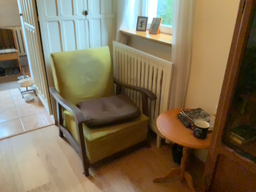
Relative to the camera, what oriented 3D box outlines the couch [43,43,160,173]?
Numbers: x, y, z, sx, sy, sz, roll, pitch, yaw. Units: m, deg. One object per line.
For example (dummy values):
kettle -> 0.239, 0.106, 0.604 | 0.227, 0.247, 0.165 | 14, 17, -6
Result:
couch -> -0.300, 0.030, 2.240 | 0.810, 0.920, 0.870 | -15, 31, -30
